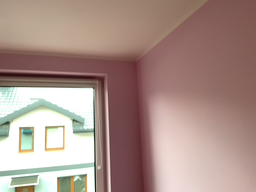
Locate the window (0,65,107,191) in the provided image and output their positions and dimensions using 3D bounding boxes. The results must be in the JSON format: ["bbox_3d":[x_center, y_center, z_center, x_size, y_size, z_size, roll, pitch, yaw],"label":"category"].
[{"bbox_3d":[-0.790,0.510,2.140,1.110,1.570,0.220,1,-9,-22],"label":"window"}]
